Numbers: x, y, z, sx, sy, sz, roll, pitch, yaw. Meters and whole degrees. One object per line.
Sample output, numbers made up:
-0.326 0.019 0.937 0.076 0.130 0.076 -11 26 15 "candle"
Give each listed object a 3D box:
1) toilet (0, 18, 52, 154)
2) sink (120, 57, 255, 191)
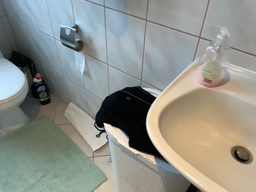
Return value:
-0.920 -0.120 1.390 0.630 0.720 0.360 29 48 26 "toilet"
0.330 0.150 0.600 0.550 0.180 0.440 29 48 26 "sink"
